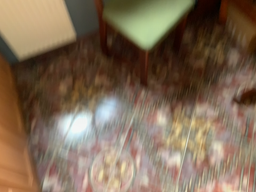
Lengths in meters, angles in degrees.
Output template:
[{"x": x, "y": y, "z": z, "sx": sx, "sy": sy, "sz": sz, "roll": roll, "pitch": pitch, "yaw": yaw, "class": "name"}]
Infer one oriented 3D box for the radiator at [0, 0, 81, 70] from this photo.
[{"x": -0.600, "y": -0.510, "z": 1.250, "sx": 0.450, "sy": 0.790, "sz": 0.100, "roll": -24, "pitch": 62, "yaw": -10, "class": "radiator"}]
